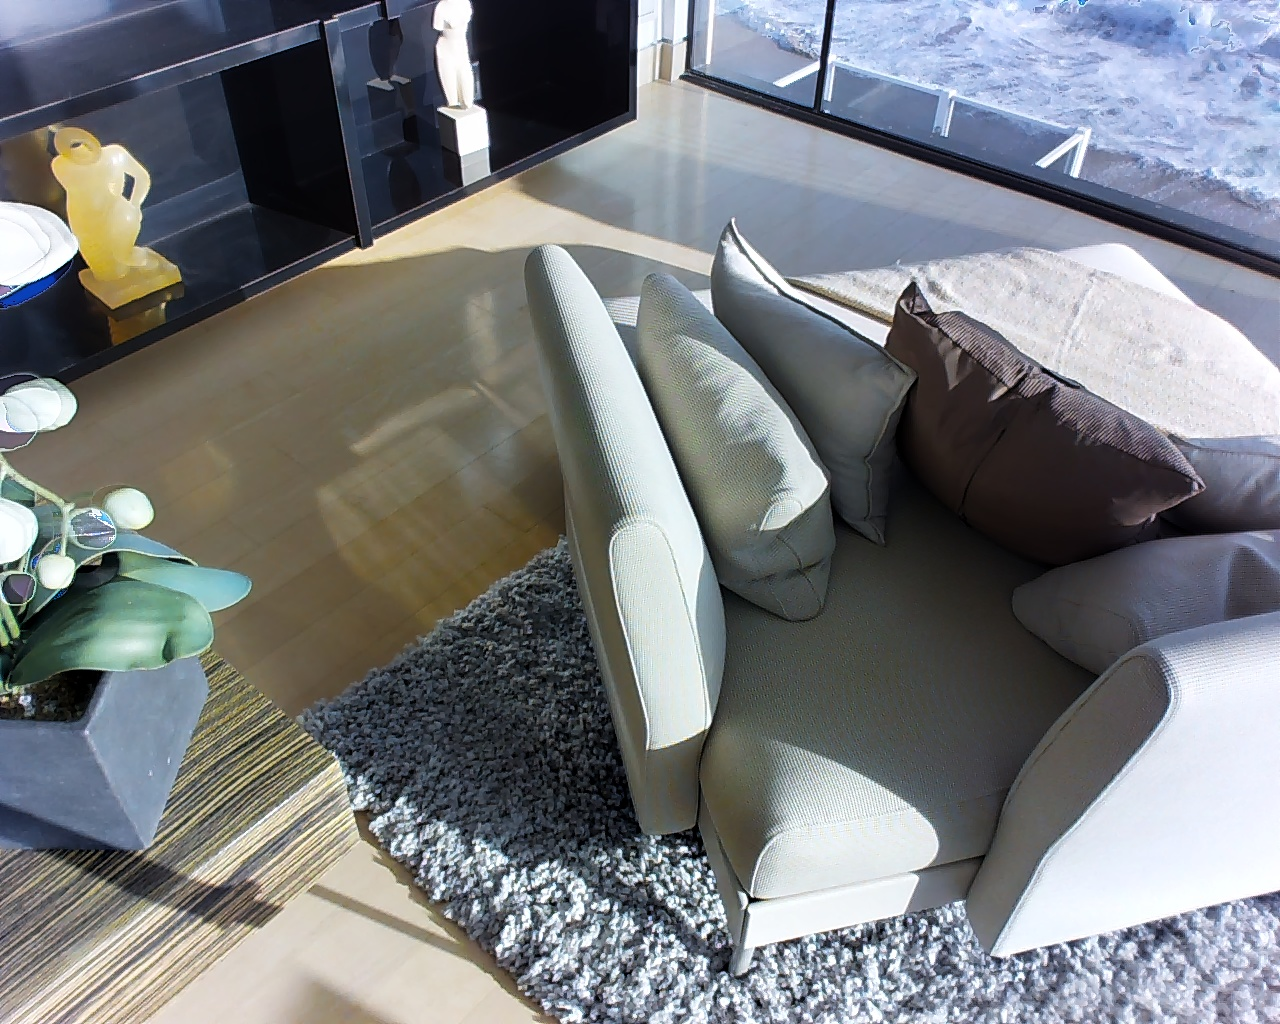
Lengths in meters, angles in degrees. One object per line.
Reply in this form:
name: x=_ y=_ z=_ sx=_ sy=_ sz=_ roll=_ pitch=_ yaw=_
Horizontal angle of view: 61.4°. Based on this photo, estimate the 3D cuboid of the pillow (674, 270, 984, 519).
pillow: x=0.290 y=-0.220 z=1.790 sx=0.180 sy=0.300 sz=0.540 roll=-27 pitch=21 yaw=-13

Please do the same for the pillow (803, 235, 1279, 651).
pillow: x=0.580 y=-0.070 z=1.590 sx=0.240 sy=0.470 sz=0.460 roll=-39 pitch=13 yaw=-33

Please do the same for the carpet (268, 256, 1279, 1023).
carpet: x=0.720 y=0.210 z=2.110 sx=1.600 sy=0.060 sz=2.280 roll=33 pitch=51 yaw=29
